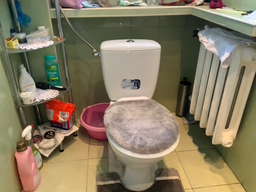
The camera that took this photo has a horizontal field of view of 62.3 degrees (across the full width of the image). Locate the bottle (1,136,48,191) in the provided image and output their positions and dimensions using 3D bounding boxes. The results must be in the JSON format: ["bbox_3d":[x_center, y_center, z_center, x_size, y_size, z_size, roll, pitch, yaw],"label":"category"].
[{"bbox_3d":[-0.560,0.390,1.180,0.120,0.250,0.210,0,29,-1],"label":"bottle"}]

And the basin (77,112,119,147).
[{"bbox_3d":[-0.220,0.250,1.630,0.290,0.130,0.240,-2,29,-4],"label":"basin"}]
